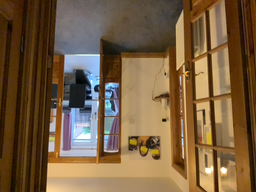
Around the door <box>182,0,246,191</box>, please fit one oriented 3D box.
[{"bbox_3d":[0.600,-0.060,1.600,0.070,1.930,0.550,2,172,-13],"label":"door"}]

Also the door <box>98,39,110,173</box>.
[{"bbox_3d":[-0.400,0.170,3.670,0.110,2.040,0.890,1,172,-3],"label":"door"}]
